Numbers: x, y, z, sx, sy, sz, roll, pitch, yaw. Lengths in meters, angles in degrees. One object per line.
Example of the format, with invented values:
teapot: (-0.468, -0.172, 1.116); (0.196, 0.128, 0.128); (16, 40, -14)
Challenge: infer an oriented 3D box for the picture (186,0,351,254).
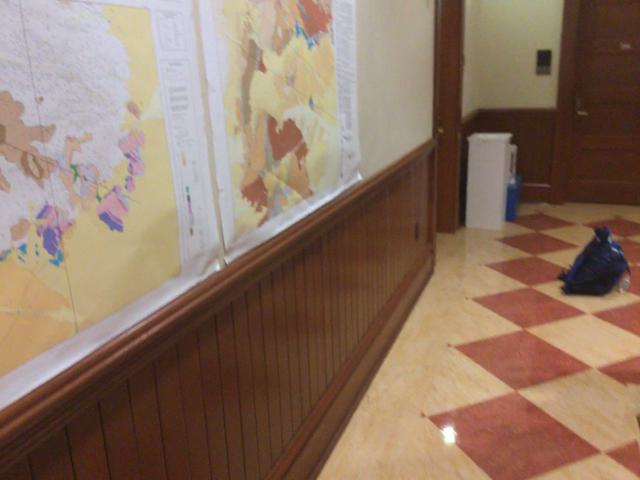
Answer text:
picture: (-0.090, -0.460, 1.770); (0.050, 0.760, 1.000); (6, 17, 21)
